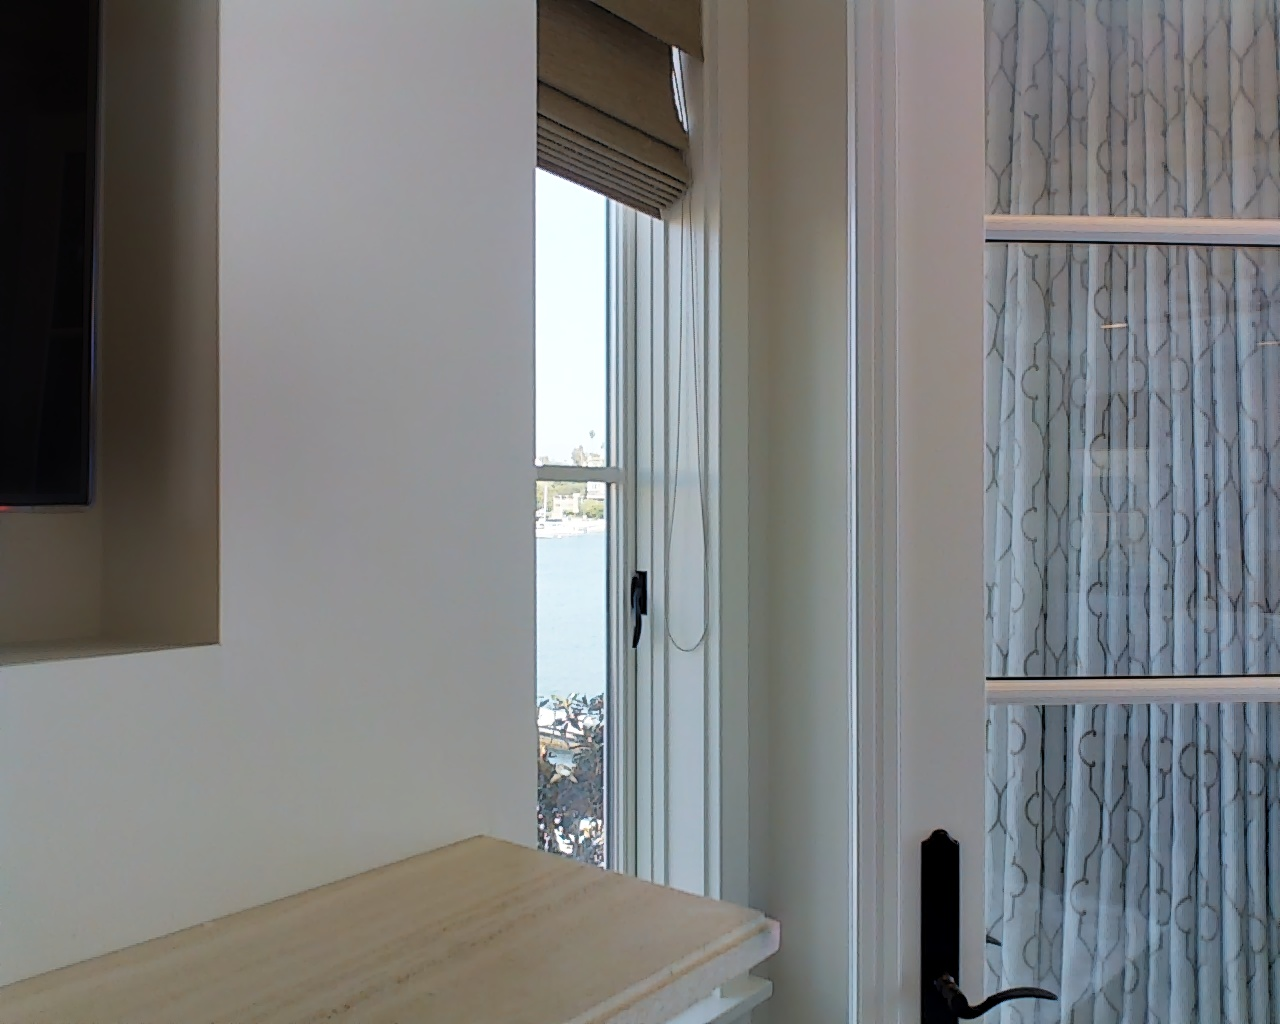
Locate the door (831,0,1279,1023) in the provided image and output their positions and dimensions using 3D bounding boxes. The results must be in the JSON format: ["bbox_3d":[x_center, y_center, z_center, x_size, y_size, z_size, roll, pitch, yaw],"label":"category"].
[{"bbox_3d":[0.660,0.140,1.290,0.840,2.581,0.140,0,0,-5],"label":"door"}]
